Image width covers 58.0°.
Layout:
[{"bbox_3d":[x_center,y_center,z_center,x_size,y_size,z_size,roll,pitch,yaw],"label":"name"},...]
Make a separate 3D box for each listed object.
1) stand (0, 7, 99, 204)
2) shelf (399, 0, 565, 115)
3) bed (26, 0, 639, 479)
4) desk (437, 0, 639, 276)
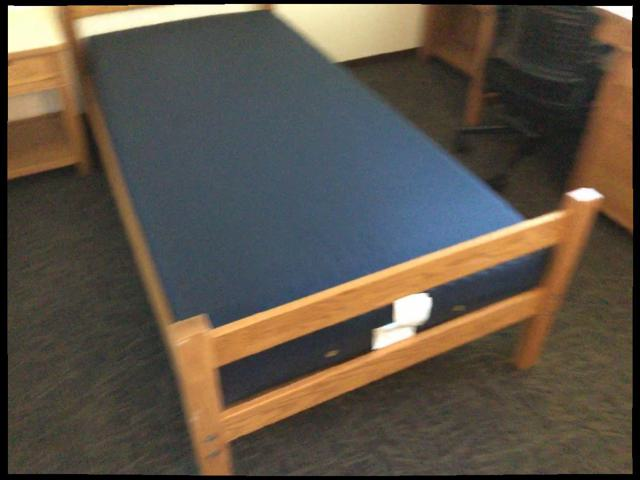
[{"bbox_3d":[-1.317,-0.561,2.420,0.529,0.581,0.530,-18,44,-21],"label":"stand"},{"bbox_3d":[0.838,-1.222,3.100,0.369,0.751,0.800,-18,44,-21],"label":"shelf"},{"bbox_3d":[-0.260,-0.451,2.040,1.138,0.921,2.181,-18,44,-21],"label":"bed"},{"bbox_3d":[1.178,-0.611,2.390,0.649,0.761,1.250,-18,44,-21],"label":"desk"}]
